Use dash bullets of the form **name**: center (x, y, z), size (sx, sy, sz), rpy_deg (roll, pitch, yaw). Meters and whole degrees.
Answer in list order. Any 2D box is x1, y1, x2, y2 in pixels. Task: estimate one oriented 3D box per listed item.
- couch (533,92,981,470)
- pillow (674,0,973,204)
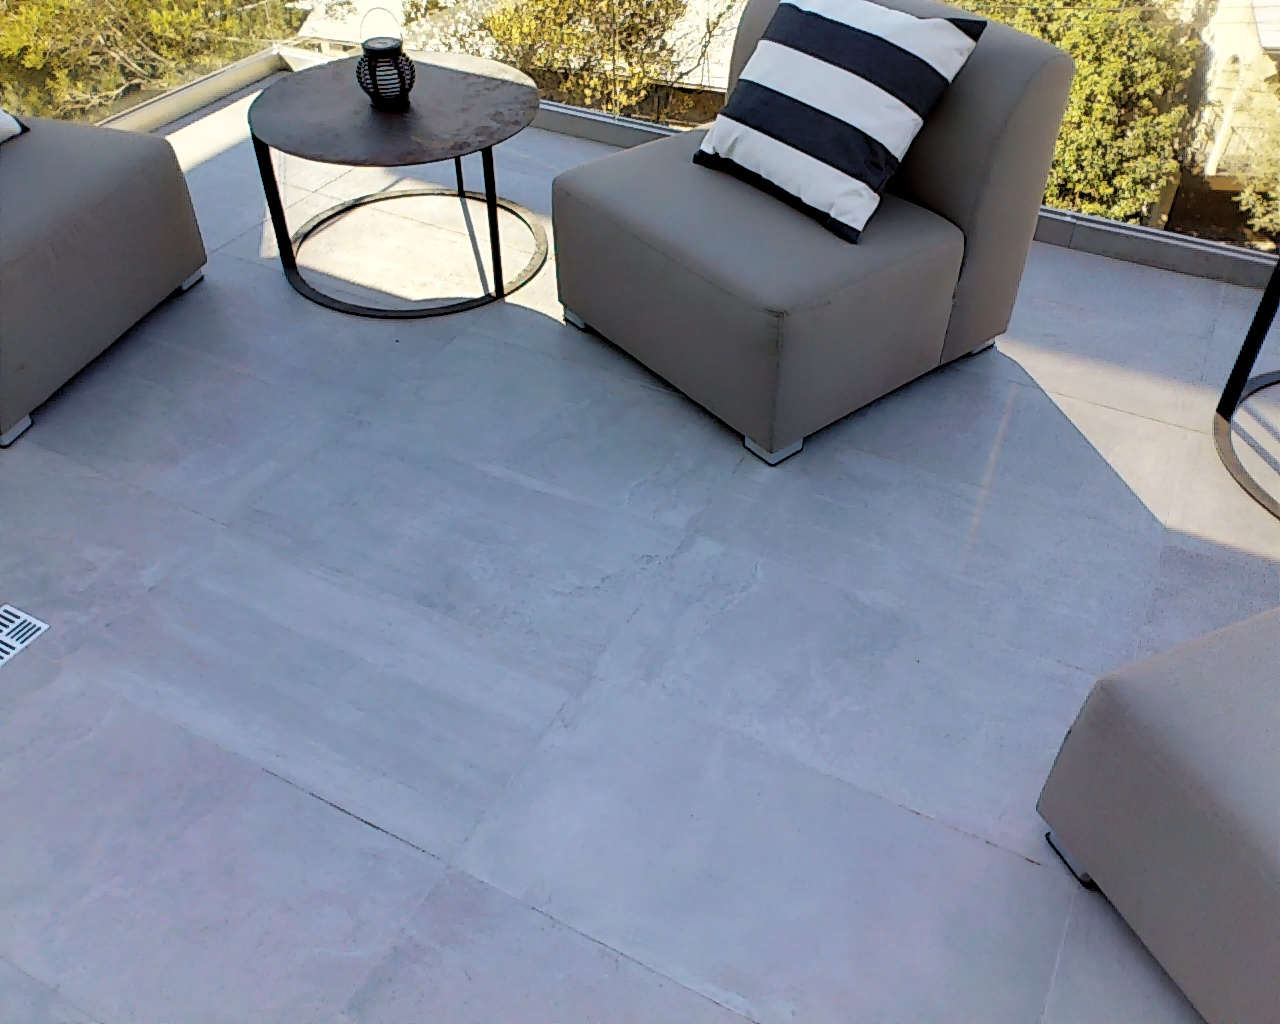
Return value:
- **couch**: center (0.250, -0.630, 2.720), size (0.580, 0.450, 0.940), rpy_deg (-28, 49, -28)
- **pillow**: center (0.400, -0.990, 2.500), size (0.270, 0.400, 0.580), rpy_deg (-13, 34, -38)
